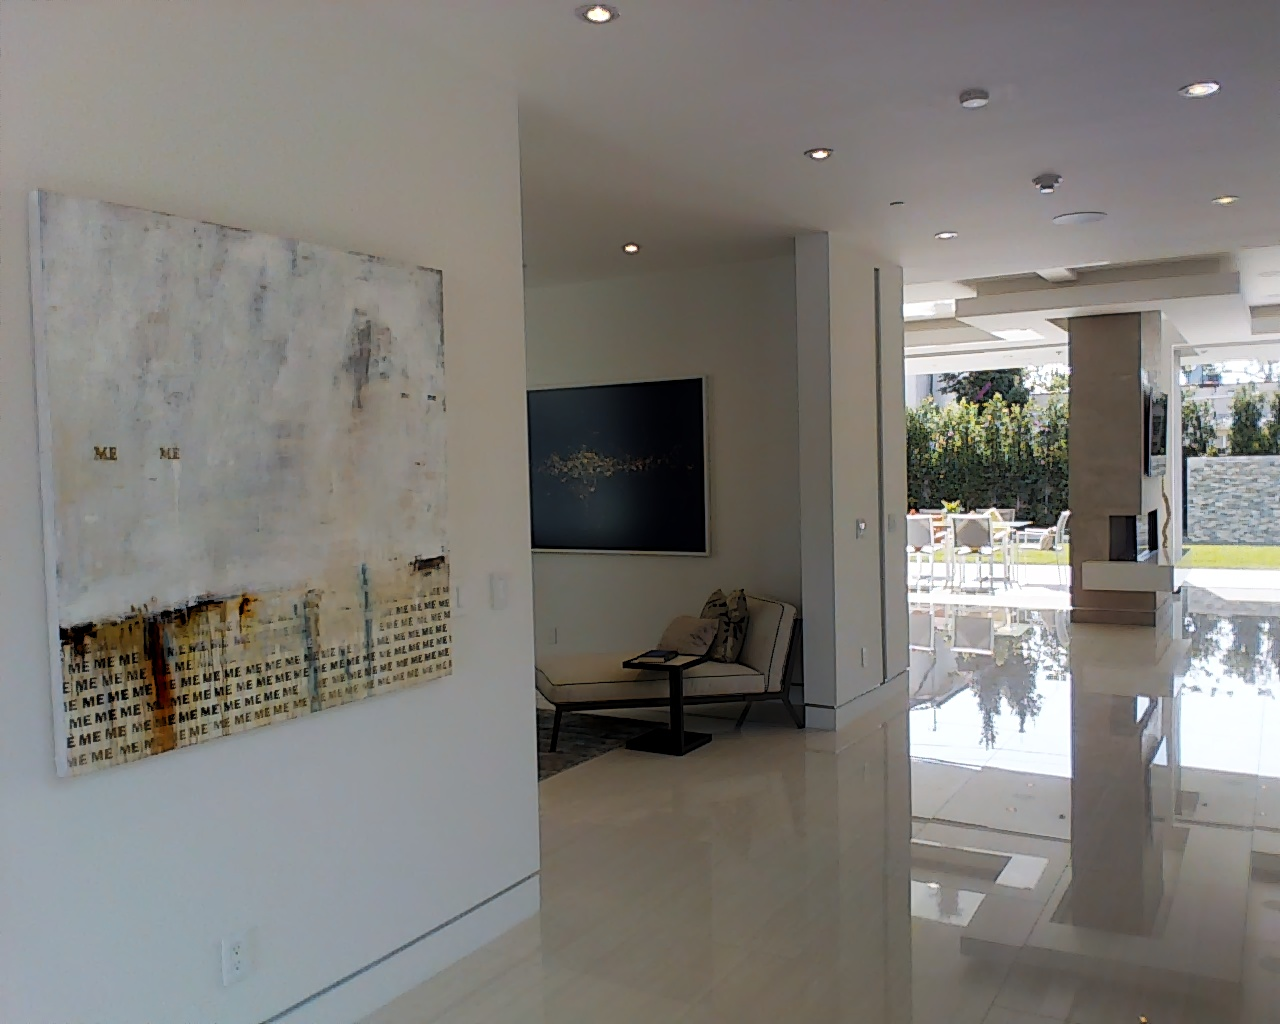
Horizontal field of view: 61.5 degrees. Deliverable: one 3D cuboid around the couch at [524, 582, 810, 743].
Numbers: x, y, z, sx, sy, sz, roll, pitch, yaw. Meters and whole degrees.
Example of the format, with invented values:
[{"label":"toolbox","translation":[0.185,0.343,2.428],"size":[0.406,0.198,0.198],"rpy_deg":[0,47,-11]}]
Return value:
[{"label":"couch","translation":[0.130,0.860,6.480],"size":[1.519,0.710,0.910],"rpy_deg":[-2,3,-14]}]
